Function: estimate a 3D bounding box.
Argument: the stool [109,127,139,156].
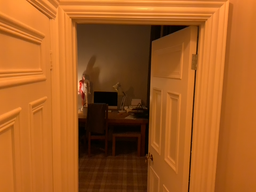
[{"bbox_3d":[-0.080,0.900,4.230,0.550,0.460,0.350,1,7,-1],"label":"stool"}]
